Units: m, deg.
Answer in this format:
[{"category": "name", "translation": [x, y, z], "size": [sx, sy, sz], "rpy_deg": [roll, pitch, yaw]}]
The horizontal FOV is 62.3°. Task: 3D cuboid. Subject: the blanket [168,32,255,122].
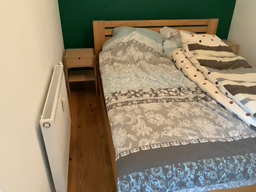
[{"category": "blanket", "translation": [0.980, -0.320, 2.030], "size": [0.680, 0.220, 1.510], "rpy_deg": [-4, 30, -10]}]
